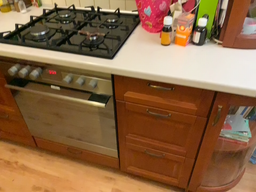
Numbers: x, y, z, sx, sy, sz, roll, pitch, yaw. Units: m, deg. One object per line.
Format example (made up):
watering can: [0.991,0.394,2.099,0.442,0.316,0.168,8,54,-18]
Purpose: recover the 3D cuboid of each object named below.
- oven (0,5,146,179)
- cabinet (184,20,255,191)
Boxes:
oven: [-0.260,-0.030,1.370,0.590,0.860,0.590,10,41,13]
cabinet: [0.570,0.130,1.180,0.320,0.870,0.590,10,41,13]
